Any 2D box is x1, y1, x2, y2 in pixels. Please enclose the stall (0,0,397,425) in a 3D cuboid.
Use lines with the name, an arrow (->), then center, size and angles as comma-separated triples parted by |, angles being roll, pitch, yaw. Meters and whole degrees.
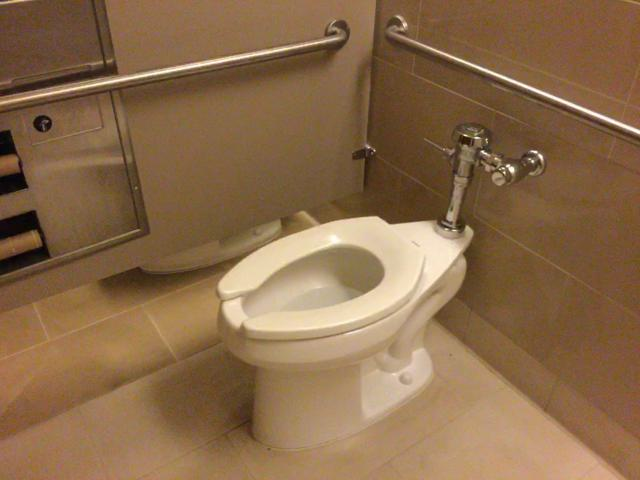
stall -> -0.660, -0.200, 1.280 | 1.950, 1.340, 0.180 | -20, 39, -27

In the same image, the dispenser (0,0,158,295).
dispenser -> -0.650, -0.280, 1.260 | 0.440, 0.790, 0.130 | -20, 39, -27
